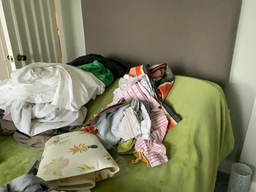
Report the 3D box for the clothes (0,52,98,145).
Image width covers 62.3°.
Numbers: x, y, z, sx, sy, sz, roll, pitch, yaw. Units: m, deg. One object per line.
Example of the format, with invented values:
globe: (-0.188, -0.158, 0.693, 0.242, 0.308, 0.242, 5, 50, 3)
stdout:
clothes: (-0.630, -0.050, 1.380, 0.710, 0.310, 0.470, 16, 28, 33)
